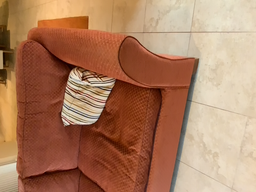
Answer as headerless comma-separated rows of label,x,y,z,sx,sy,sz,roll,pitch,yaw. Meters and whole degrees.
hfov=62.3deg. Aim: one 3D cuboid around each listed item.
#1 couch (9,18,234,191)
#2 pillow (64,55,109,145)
couch,-0.260,0.670,1.630,1.170,0.920,2.240,23,111,45
pillow,-0.250,0.030,1.450,0.420,0.120,0.440,-84,-10,-45
